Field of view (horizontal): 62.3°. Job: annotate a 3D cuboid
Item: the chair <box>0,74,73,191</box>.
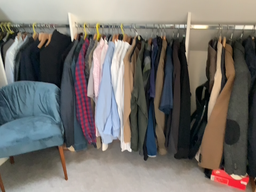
[{"bbox_3d":[-0.780,0.260,1.610,0.550,0.660,0.530,-11,26,-22],"label":"chair"}]
